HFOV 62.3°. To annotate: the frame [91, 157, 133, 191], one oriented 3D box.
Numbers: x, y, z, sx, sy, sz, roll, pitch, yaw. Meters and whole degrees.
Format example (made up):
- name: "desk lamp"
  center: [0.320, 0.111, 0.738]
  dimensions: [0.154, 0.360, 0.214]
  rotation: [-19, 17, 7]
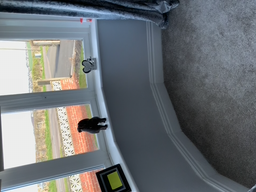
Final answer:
- name: "frame"
  center: [-0.130, 0.620, 1.600]
  dimensions: [0.260, 0.210, 0.140]
  rotation: [54, 136, 47]
